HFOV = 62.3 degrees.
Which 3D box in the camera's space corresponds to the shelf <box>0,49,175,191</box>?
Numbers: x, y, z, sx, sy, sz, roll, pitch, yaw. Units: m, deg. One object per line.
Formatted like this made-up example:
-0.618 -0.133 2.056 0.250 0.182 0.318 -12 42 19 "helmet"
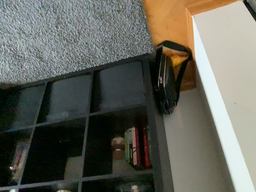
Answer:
-0.330 0.520 1.180 1.120 1.470 0.420 -12 142 13 "shelf"
